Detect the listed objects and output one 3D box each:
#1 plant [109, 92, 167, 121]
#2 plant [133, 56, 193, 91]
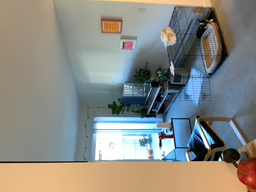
[{"bbox_3d":[0.240,0.320,6.150,0.820,1.570,0.540,102,168,-65],"label":"plant"},{"bbox_3d":[0.690,-0.450,4.410,0.550,1.100,0.500,102,168,-65],"label":"plant"}]
